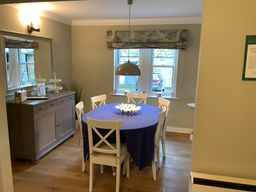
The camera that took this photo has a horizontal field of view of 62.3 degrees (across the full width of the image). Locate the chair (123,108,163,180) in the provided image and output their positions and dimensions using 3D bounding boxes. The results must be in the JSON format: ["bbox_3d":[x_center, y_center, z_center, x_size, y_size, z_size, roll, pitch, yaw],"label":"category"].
[{"bbox_3d":[0.210,0.630,2.900,0.450,0.820,0.380,4,11,17],"label":"chair"}]

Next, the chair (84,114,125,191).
[{"bbox_3d":[-0.260,0.680,2.530,0.380,0.820,0.450,2,10,6],"label":"chair"}]

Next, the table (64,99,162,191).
[{"bbox_3d":[-0.090,0.590,3.280,1.120,0.750,1.520,3,10,11],"label":"table"}]
